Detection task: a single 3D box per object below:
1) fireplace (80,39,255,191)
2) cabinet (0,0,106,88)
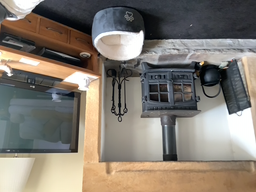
[{"bbox_3d":[0.480,0.190,2.400,1.820,1.540,0.600,0,162,-1],"label":"fireplace"},{"bbox_3d":[-0.770,-0.480,2.000,0.960,0.490,0.550,15,158,-39],"label":"cabinet"}]
